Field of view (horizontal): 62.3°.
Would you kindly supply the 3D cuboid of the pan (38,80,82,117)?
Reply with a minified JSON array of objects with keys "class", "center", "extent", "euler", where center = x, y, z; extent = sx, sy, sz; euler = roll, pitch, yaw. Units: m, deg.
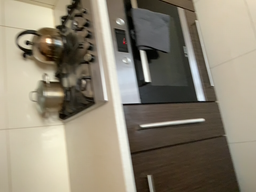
[{"class":"pan","center":[-0.380,0.020,1.170],"extent":[0.220,0.160,0.160],"euler":[-16,77,53]}]

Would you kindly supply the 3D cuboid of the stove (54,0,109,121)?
[{"class":"stove","center":[-0.280,-0.190,1.130],"extent":[0.530,0.030,0.580],"euler":[-22,72,52]}]

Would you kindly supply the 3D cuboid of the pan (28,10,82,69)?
[{"class":"pan","center":[-0.420,-0.300,1.200],"extent":[0.270,0.210,0.200],"euler":[-21,73,52]}]
